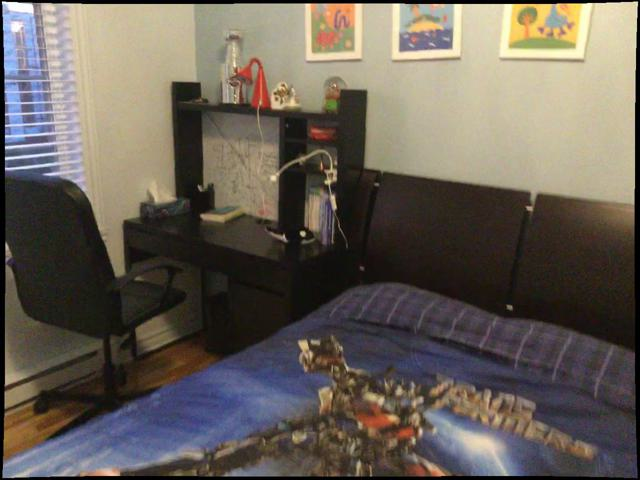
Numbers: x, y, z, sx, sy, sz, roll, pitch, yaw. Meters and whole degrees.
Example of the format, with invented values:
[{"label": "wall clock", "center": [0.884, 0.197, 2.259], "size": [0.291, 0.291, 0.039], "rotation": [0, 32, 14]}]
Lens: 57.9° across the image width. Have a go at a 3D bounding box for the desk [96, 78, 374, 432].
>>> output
[{"label": "desk", "center": [-0.400, -0.030, 2.680], "size": [1.089, 1.351, 0.570], "rotation": [13, 21, 34]}]
